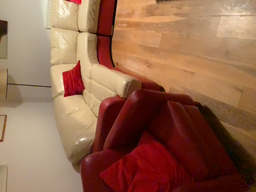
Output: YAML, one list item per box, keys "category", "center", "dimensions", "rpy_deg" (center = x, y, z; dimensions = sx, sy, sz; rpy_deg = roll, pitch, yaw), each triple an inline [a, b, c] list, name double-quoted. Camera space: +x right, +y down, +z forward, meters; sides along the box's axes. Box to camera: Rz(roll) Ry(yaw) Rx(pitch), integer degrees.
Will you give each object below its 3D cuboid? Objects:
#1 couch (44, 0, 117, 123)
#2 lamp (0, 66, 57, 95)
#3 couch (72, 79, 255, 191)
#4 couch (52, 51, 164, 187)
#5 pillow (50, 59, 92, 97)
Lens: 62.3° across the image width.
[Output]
- category: "couch"
  center: [-0.770, -1.440, 3.390]
  dimensions: [1.100, 0.790, 3.550]
  rpy_deg: [35, 120, 57]
- category: "lamp"
  center: [-1.790, -0.260, 3.640]
  dimensions: [0.490, 1.010, 0.360]
  rpy_deg: [34, 119, 58]
- category: "couch"
  center: [0.160, 0.480, 1.520]
  dimensions: [0.850, 0.840, 0.800]
  rpy_deg: [-62, 38, 40]
- category: "couch"
  center: [-0.400, 0.120, 2.640]
  dimensions: [1.440, 0.800, 1.080]
  rpy_deg: [34, 119, 57]
- category: "pillow"
  center: [-0.850, -0.290, 3.200]
  dimensions: [0.550, 0.370, 0.120]
  rpy_deg: [-62, -24, -27]
